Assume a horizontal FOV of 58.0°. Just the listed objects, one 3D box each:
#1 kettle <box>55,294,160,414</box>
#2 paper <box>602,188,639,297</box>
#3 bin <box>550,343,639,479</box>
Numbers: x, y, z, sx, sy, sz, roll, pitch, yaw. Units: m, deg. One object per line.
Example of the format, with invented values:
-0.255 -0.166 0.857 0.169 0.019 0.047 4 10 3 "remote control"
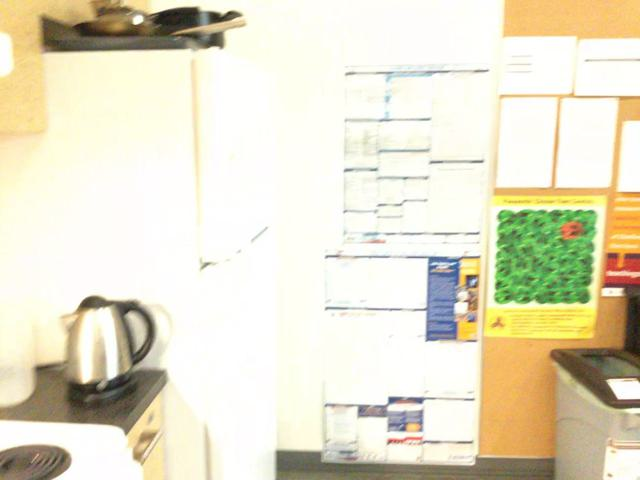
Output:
-0.530 0.280 1.460 0.190 0.260 0.150 0 6 6 "kettle"
1.270 0.010 2.250 0.290 0.420 0.060 0 6 6 "paper"
1.070 0.750 2.110 0.290 0.630 0.520 0 3 6 "bin"
